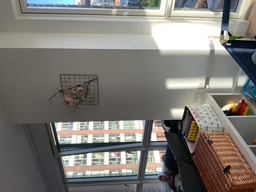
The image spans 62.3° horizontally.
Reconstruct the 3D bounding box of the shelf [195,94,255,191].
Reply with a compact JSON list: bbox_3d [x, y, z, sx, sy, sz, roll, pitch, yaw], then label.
[{"bbox_3d":[1.060,0.550,1.760,1.470,0.410,0.400,-99,10,-56],"label":"shelf"}]
